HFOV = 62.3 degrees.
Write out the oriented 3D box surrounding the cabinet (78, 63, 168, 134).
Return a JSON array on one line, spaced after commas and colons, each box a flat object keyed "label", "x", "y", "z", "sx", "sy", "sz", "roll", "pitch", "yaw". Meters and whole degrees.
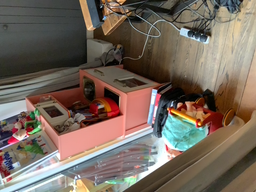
[{"label": "cabinet", "x": -0.070, "y": -0.030, "z": 1.960, "sx": 0.680, "sy": 0.490, "sz": 0.360, "roll": 26, "pitch": 121, "yaw": 45}]
